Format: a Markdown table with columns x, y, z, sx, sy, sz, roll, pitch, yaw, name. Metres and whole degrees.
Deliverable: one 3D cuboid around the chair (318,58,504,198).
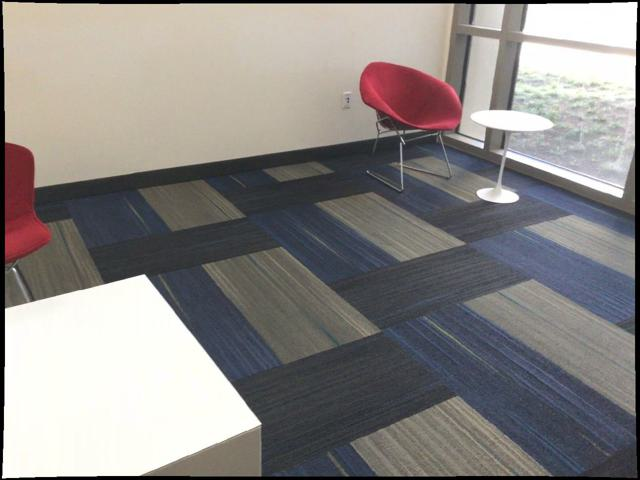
| x | y | z | sx | sy | sz | roll | pitch | yaw | name |
| --- | --- | --- | --- | --- | --- | --- | --- | --- | --- |
| 0.588 | -0.822 | 3.990 | 0.878 | 0.671 | 0.850 | -14 | 30 | -28 | chair |
